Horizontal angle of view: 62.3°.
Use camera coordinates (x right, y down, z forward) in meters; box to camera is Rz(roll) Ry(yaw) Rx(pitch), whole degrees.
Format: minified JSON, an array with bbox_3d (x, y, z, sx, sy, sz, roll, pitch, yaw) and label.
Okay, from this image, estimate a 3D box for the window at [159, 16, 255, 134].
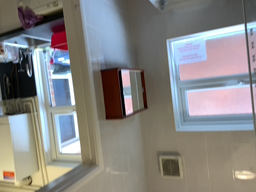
[{"bbox_3d":[0.950,-0.160,1.860,1.250,0.940,0.210,-5,-177,25],"label":"window"}]
